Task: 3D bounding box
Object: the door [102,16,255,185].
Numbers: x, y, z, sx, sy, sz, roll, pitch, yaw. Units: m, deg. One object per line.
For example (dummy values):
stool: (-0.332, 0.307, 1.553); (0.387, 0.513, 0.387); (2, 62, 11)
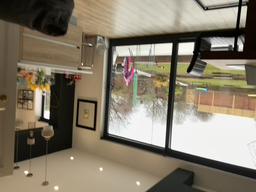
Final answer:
door: (1.490, 0.010, 3.690); (4.940, 2.600, 0.090); (7, -175, 35)
